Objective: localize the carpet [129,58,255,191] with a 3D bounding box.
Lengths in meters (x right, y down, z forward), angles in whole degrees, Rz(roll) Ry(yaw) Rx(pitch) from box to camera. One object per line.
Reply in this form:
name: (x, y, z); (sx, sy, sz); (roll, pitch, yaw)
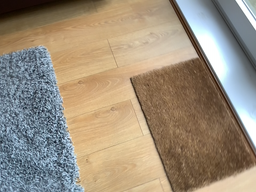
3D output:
carpet: (0.300, 0.120, 1.010); (0.430, 0.030, 0.580); (-17, 70, -8)
